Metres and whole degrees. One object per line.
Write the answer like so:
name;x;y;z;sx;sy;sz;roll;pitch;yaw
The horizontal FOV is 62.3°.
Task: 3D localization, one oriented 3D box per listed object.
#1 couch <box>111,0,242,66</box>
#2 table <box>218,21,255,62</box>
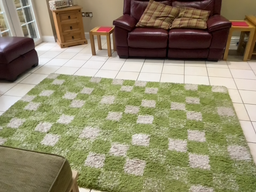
couch;0.700;-1.200;3.420;1.690;0.980;1.030;6;32;11
table;1.700;-0.870;3.340;0.380;0.480;0.530;6;32;11
